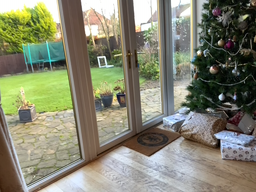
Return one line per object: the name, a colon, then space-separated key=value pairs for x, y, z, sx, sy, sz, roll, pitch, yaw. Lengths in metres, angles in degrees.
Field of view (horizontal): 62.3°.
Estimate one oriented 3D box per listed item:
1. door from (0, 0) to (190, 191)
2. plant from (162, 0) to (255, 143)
door: x=-0.010 y=-0.520 z=2.590 sx=0.120 sy=1.980 sz=3.010 roll=8 pitch=19 yaw=42
plant: x=1.190 y=-0.760 z=2.480 sx=1.250 sy=2.270 sz=1.060 roll=3 pitch=16 yaw=28
